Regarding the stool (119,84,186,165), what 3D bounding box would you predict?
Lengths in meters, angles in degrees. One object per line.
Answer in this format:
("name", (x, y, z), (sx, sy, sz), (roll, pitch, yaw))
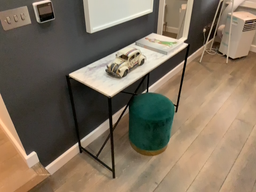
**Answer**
("stool", (0.200, 0.230, 1.830), (0.380, 0.430, 0.390), (27, 45, 32))
